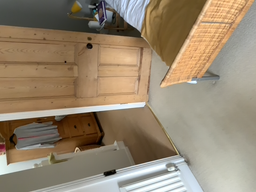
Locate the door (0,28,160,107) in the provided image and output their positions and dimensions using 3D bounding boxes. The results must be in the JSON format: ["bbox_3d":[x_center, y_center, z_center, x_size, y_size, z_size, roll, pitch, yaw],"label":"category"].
[{"bbox_3d":[-0.570,-0.290,2.260,0.140,2.060,0.690,34,122,53],"label":"door"}]
